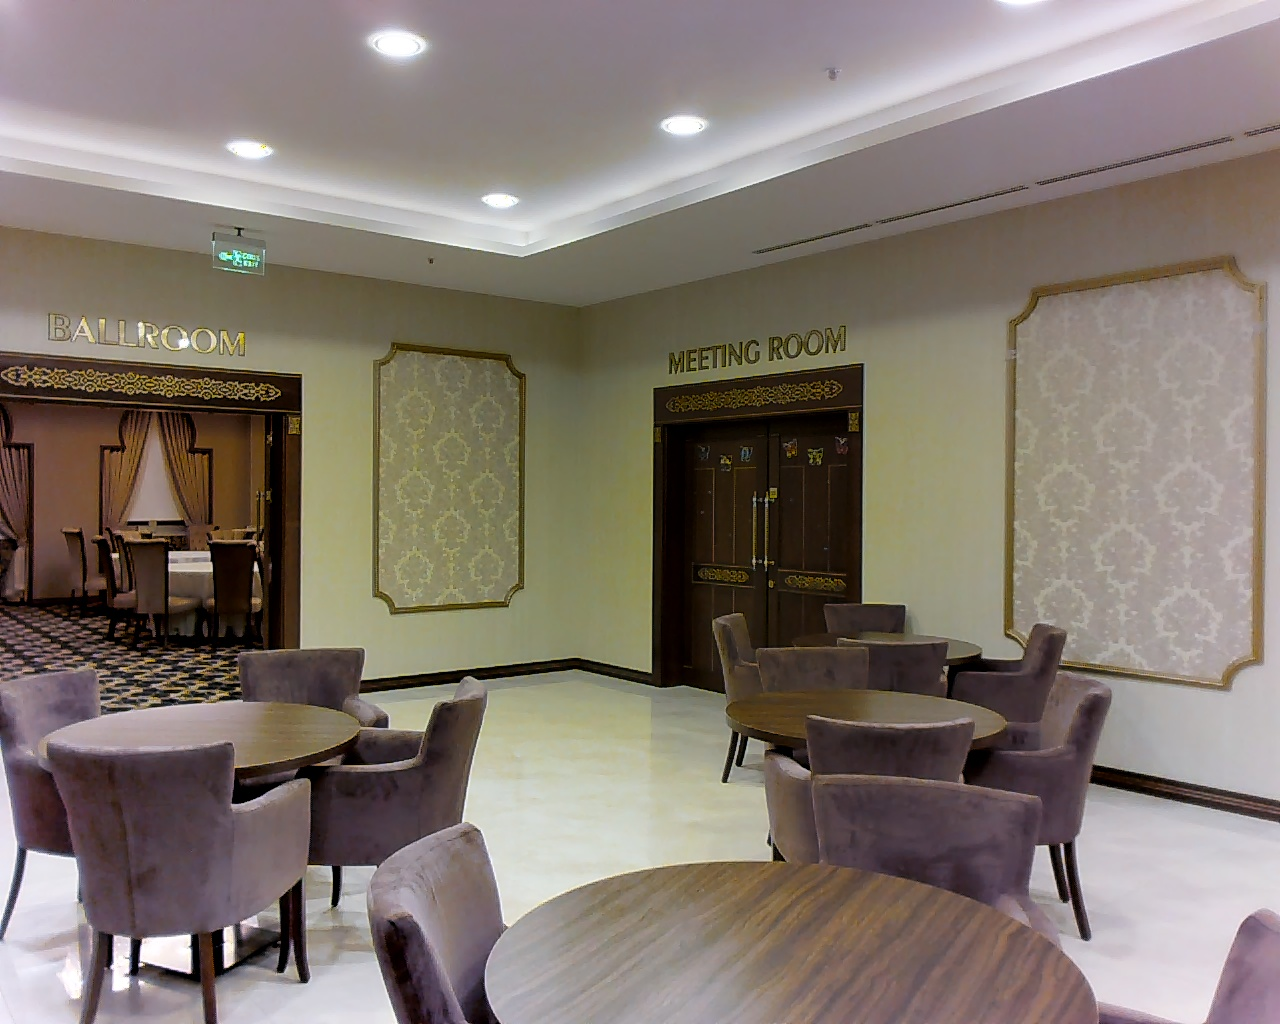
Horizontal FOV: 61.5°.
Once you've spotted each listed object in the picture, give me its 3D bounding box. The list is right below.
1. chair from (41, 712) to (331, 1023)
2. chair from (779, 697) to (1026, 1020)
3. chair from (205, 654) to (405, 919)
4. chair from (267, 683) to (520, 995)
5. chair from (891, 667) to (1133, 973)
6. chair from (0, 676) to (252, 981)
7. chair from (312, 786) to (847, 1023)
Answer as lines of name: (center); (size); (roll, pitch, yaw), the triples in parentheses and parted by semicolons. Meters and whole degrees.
chair: (-1.299, 1.060, 3.180); (0.580, 0.810, 0.650); (0, 0, 0)
chair: (0.830, 1.090, 3.540); (0.630, 0.850, 0.640); (0, 0, -2)
chair: (-1.339, 1.060, 4.370); (0.710, 0.850, 0.730); (0, 0, -16)
chair: (-0.830, 1.090, 3.750); (0.690, 0.870, 0.610); (0, 0, 7)
chair: (1.399, 1.080, 4.010); (0.740, 0.860, 0.680); (1, 1, 29)
chair: (-1.869, 1.080, 3.850); (0.690, 0.860, 0.580); (1, 0, 17)
chair: (-0.060, 1.090, 2.050); (0.640, 0.850, 0.890); (1, 1, 29)
